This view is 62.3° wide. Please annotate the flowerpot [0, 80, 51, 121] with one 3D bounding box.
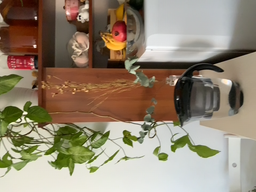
[{"bbox_3d":[-0.660,0.030,1.280,0.260,0.310,0.220,161,109,-83],"label":"flowerpot"}]
